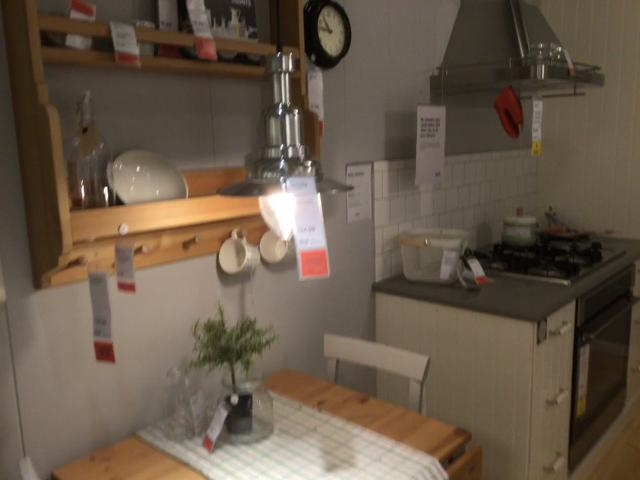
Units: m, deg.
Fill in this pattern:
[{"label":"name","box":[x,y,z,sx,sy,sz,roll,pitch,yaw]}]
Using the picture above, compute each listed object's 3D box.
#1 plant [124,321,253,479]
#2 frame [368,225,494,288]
[{"label":"plant","box":[-0.310,0.390,1.380,0.200,0.320,0.180,-14,13,-43]},{"label":"frame","box":[0.420,0.050,2.170,0.360,0.140,0.310,-14,13,-43]}]
